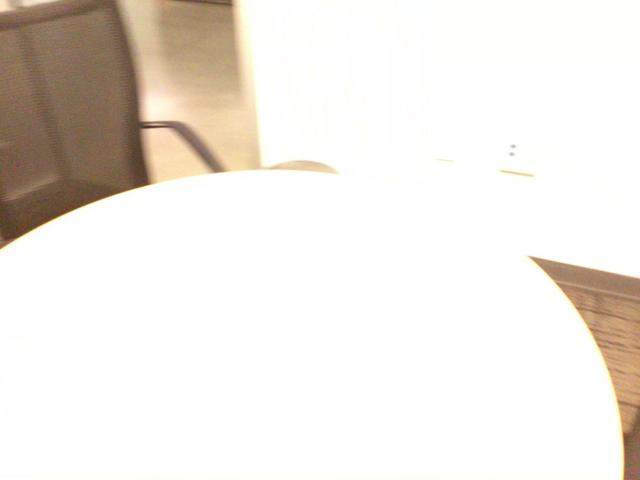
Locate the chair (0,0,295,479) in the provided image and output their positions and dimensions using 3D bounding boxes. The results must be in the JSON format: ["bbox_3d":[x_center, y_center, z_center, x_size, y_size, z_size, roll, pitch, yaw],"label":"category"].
[{"bbox_3d":[-0.500,-0.040,1.390,0.630,0.920,0.610,-19,41,-22],"label":"chair"}]
